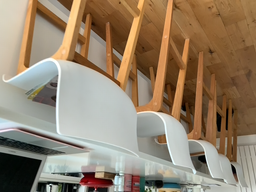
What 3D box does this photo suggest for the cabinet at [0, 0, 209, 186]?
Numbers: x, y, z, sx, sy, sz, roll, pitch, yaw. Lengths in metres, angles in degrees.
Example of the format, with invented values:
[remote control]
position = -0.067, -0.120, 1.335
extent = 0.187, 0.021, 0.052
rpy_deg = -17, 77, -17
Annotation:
[cabinet]
position = -0.190, 0.300, 2.060
extent = 1.070, 0.880, 2.900
rpy_deg = -13, 151, 31
